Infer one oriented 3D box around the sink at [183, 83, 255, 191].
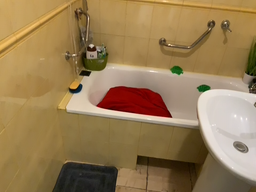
[{"bbox_3d":[0.470,0.160,0.860,0.410,0.130,0.510,7,36,3],"label":"sink"}]
